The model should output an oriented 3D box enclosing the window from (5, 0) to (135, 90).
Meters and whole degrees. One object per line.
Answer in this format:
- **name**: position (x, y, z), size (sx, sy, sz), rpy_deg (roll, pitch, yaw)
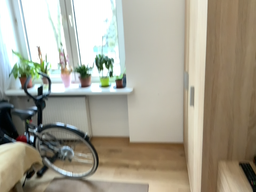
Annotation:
- **window**: position (-0.740, -0.990, 2.660), size (1.580, 1.840, 0.180), rpy_deg (1, 18, 12)
